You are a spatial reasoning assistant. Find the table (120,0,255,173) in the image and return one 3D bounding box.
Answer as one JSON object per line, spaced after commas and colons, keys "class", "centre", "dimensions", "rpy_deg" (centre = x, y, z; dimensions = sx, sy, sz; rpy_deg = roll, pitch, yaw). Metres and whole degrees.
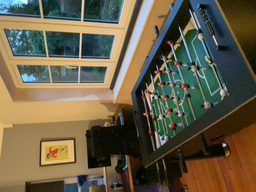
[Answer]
{"class": "table", "centre": [0.610, -0.130, 1.760], "dimensions": [1.530, 0.910, 1.080], "rpy_deg": [116, 149, -57]}
